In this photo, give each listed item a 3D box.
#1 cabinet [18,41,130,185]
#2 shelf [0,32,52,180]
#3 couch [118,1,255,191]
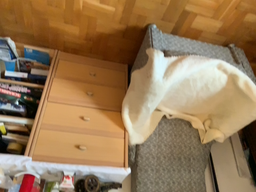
[{"bbox_3d":[-0.310,0.100,1.470,0.560,0.870,0.350,9,143,-14],"label":"cabinet"},{"bbox_3d":[-0.830,0.020,1.350,0.500,0.870,0.330,9,143,-14],"label":"shelf"},{"bbox_3d":[0.390,0.110,1.400,0.710,0.970,0.830,9,143,-14],"label":"couch"}]
